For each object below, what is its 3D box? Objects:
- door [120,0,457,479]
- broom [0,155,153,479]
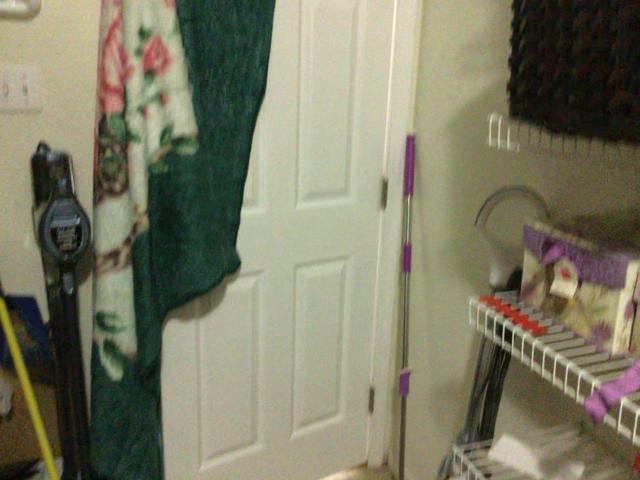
[{"bbox_3d":[-0.080,-0.140,1.680,0.880,2.150,0.180,-4,17,-19],"label":"door"},{"bbox_3d":[-0.660,0.420,1.450,0.420,1.180,0.550,-4,17,-19],"label":"broom"}]
